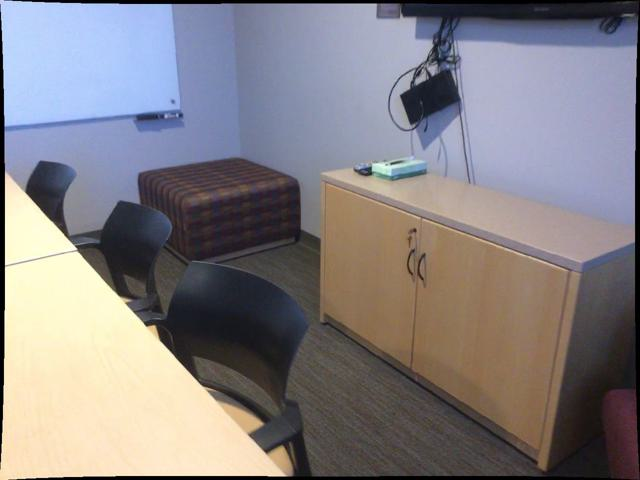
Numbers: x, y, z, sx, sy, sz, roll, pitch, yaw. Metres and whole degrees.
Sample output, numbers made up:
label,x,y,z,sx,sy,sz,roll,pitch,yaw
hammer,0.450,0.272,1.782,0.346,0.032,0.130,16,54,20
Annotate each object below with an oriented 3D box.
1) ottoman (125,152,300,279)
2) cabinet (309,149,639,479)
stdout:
label,x,y,z,sx,sy,sz,roll,pitch,yaw
ottoman,-0.669,-0.200,3.610,0.789,0.491,0.750,-14,26,-36
cabinet,0.539,0.170,2.270,0.520,0.791,1.209,-14,26,-36
